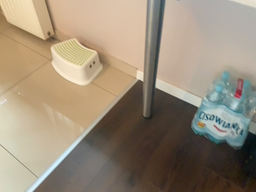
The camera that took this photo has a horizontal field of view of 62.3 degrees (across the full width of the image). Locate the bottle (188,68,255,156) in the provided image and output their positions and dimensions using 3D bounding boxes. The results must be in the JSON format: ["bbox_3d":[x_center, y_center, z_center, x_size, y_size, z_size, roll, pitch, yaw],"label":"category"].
[{"bbox_3d":[0.470,0.080,1.010,0.230,0.300,0.200,29,55,22],"label":"bottle"}]

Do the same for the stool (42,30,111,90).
[{"bbox_3d":[-0.330,-0.250,1.400,0.340,0.150,0.270,32,56,24],"label":"stool"}]
